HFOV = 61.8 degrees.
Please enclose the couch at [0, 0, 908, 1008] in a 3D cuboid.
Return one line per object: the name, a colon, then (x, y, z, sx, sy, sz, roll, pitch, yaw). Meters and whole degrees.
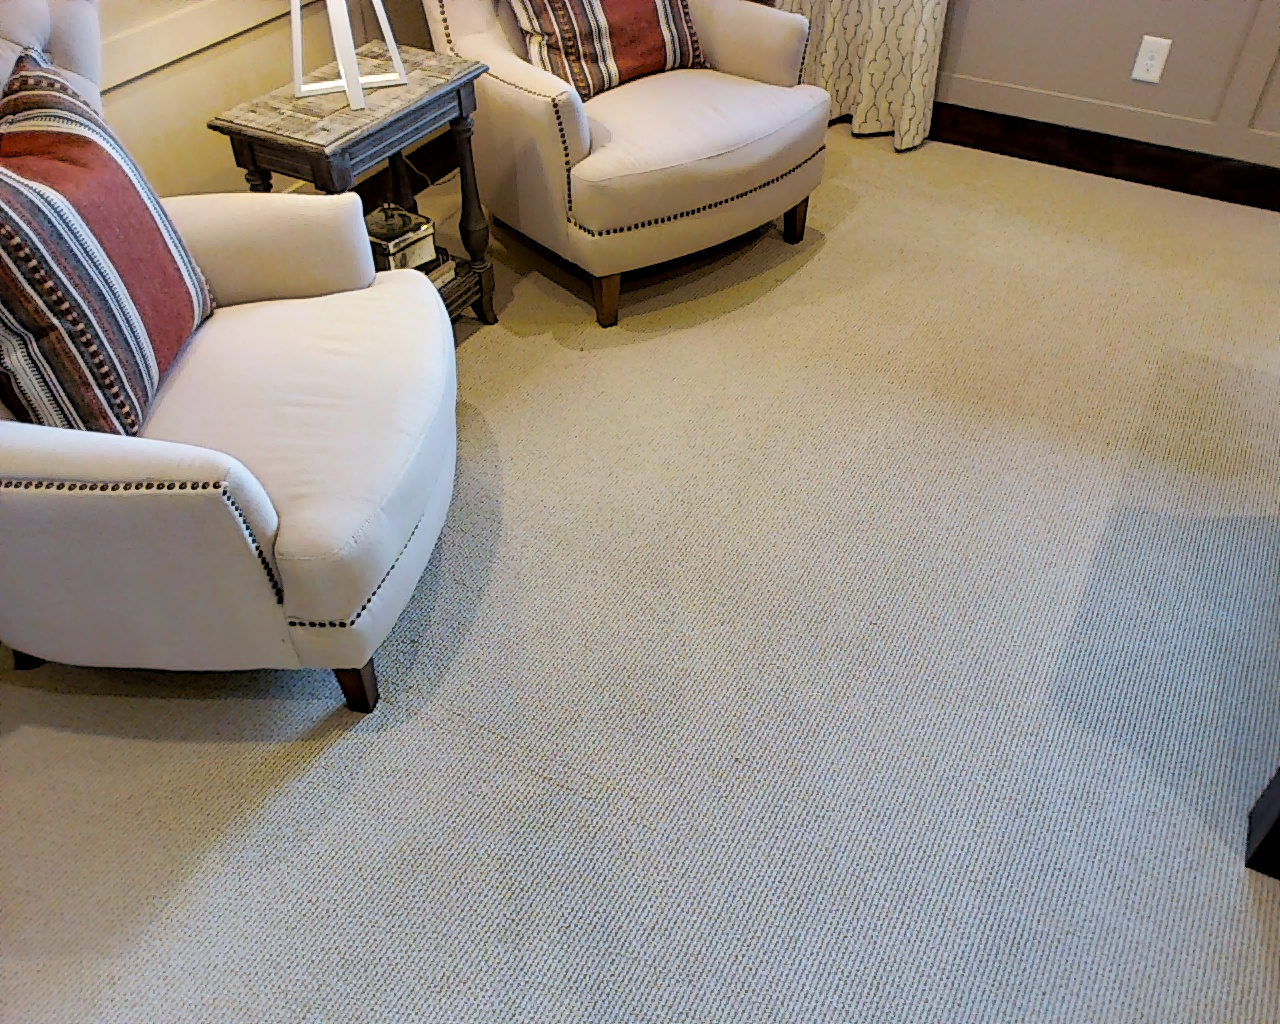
couch: (-0.340, -0.110, 1.500, 0.900, 0.990, 0.890, -16, 45, -17)
